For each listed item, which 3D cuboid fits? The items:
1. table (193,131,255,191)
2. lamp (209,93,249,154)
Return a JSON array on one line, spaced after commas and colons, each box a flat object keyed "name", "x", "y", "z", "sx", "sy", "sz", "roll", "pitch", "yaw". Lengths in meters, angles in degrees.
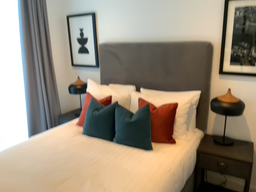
[{"name": "table", "x": 0.950, "y": 0.740, "z": 2.090, "sx": 0.470, "sy": 0.600, "sz": 0.400, "roll": 8, "pitch": 17, "yaw": 32}, {"name": "lamp", "x": 0.950, "y": 0.240, "z": 1.990, "sx": 0.270, "sy": 0.460, "sz": 0.270, "roll": 7, "pitch": 17, "yaw": 31}]
